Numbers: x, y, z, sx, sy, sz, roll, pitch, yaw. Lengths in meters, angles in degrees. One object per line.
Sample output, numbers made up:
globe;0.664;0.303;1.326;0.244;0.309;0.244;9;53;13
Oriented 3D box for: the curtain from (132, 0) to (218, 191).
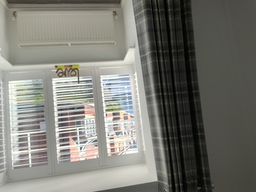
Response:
curtain;0.370;-0.140;1.820;0.480;2.230;0.160;-4;173;-16
